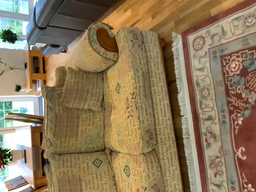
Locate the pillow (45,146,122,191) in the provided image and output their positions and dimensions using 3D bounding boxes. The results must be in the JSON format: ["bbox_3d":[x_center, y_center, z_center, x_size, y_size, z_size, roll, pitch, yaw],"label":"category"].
[{"bbox_3d":[-0.360,0.780,1.770,0.160,0.610,0.690,60,-152,-83],"label":"pillow"}]

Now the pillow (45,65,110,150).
[{"bbox_3d":[-0.440,0.100,1.870,0.150,0.530,0.700,88,-179,-86],"label":"pillow"}]

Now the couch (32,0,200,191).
[{"bbox_3d":[-0.170,0.440,1.840,1.070,0.900,2.070,-18,77,54],"label":"couch"}]

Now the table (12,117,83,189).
[{"bbox_3d":[-1.600,0.970,3.980,1.840,0.770,0.930,-16,79,54],"label":"table"}]
